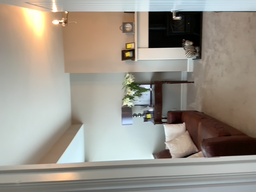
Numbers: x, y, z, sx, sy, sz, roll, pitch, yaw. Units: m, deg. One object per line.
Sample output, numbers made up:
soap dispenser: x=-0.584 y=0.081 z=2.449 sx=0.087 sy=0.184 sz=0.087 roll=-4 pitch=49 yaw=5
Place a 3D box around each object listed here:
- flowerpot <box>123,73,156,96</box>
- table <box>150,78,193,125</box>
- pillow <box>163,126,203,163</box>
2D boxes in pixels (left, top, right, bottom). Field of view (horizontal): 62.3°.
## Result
flowerpot: x=0.200 y=-0.230 z=4.060 sx=0.520 sy=0.570 sz=0.390 roll=-117 pitch=26 yaw=-82
table: x=0.830 y=0.080 z=4.170 sx=0.490 sy=0.730 sz=0.840 roll=-119 pitch=28 yaw=-83
pillow: x=0.790 y=0.690 z=3.100 sx=0.390 sy=0.380 sz=0.270 roll=-118 pitch=3 yaw=-79
